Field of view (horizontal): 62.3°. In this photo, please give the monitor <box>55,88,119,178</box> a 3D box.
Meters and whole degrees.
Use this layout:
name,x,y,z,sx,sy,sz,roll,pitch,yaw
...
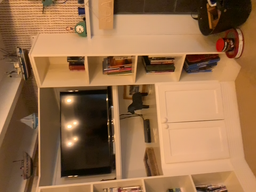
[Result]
name,x,y,z,sx,sy,sz,roll,pitch,yaw
monitor,-0.420,0.380,2.250,0.060,0.570,0.890,101,174,-80

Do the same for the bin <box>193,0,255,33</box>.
name,x,y,z,sx,sy,sz,roll,pitch,yaw
bin,0.830,-0.770,1.820,0.260,0.330,0.440,96,169,-46
